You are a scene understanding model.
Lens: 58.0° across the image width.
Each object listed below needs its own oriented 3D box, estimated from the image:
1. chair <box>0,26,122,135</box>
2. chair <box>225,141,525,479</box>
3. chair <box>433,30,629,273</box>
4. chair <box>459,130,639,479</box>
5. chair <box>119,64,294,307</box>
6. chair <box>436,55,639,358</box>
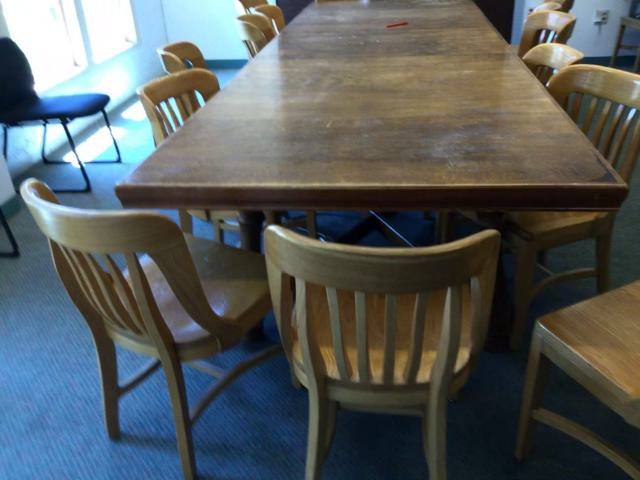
[{"bbox_3d":[-1.520,-0.900,3.240,0.550,0.480,0.480,-1,27,7],"label":"chair"},{"bbox_3d":[0.140,0.250,1.400,0.500,0.820,0.560,-1,27,7],"label":"chair"},{"bbox_3d":[0.820,-0.400,2.500,0.590,0.840,0.710,-1,27,7],"label":"chair"},{"bbox_3d":[0.790,0.260,1.280,0.680,0.830,0.590,-18,30,-24],"label":"chair"},{"bbox_3d":[-0.390,-0.220,2.290,0.440,0.810,0.520,-1,27,7],"label":"chair"},{"bbox_3d":[0.770,-0.140,2.020,0.650,0.830,0.680,-1,27,7],"label":"chair"}]
